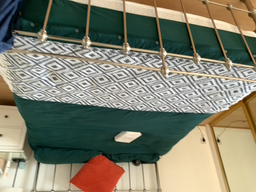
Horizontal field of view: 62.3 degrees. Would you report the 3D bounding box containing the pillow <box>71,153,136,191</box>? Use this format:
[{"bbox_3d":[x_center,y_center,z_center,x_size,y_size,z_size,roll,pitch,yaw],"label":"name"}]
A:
[{"bbox_3d":[-0.300,0.990,2.500,0.640,0.460,0.230,-6,151,-23],"label":"pillow"}]
